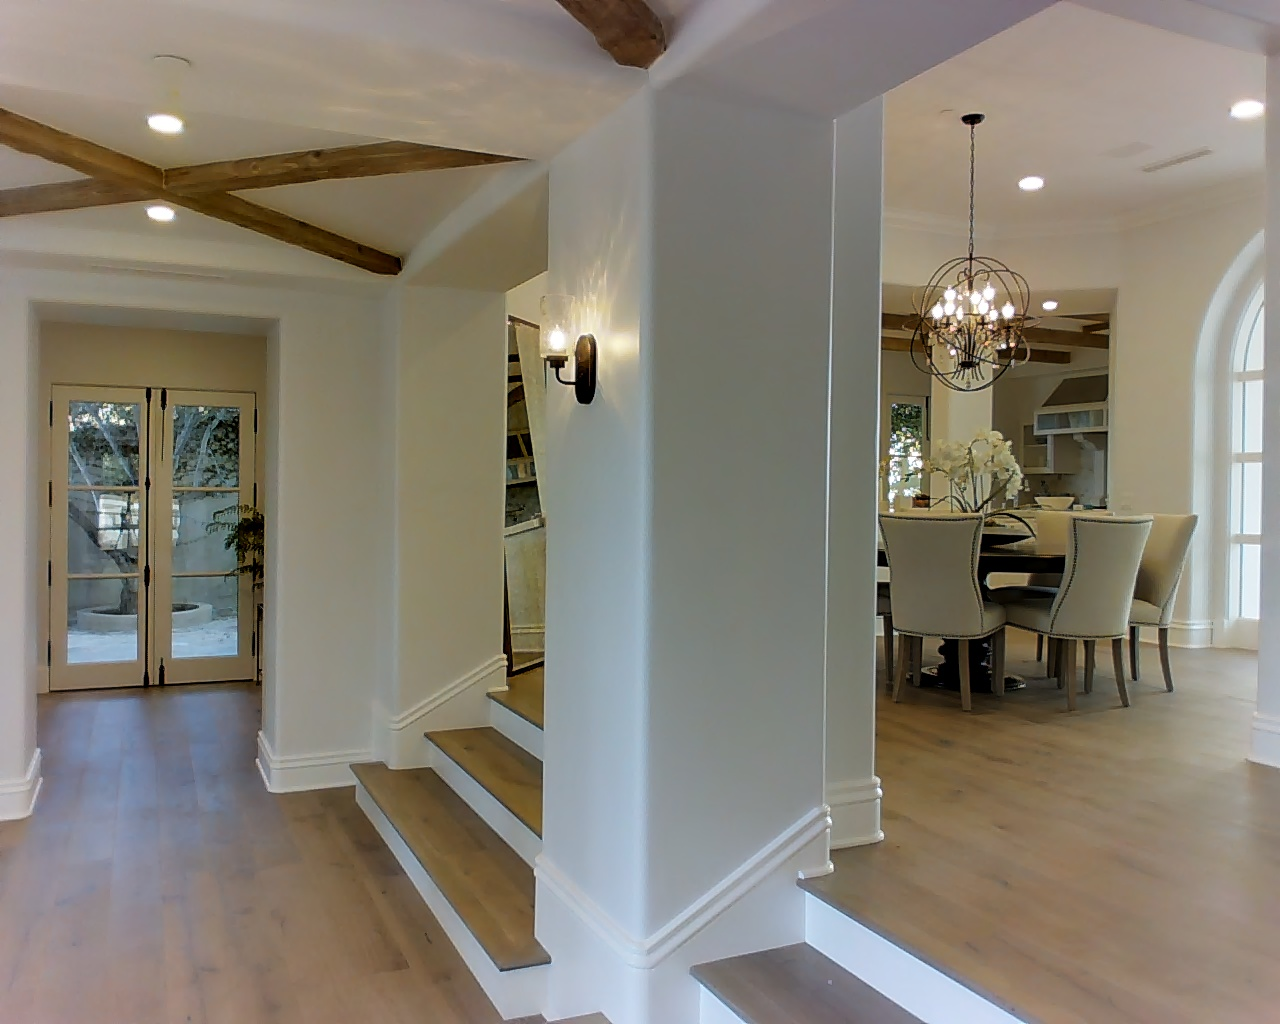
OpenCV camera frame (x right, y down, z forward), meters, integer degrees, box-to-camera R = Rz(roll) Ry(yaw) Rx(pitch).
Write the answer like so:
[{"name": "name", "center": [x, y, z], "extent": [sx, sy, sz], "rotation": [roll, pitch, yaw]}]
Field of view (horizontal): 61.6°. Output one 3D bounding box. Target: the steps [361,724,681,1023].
[{"name": "steps", "center": [-0.670, 1.390, 4.570], "extent": [0.570, 0.440, 2.640], "rotation": [1, 0, -24]}]
